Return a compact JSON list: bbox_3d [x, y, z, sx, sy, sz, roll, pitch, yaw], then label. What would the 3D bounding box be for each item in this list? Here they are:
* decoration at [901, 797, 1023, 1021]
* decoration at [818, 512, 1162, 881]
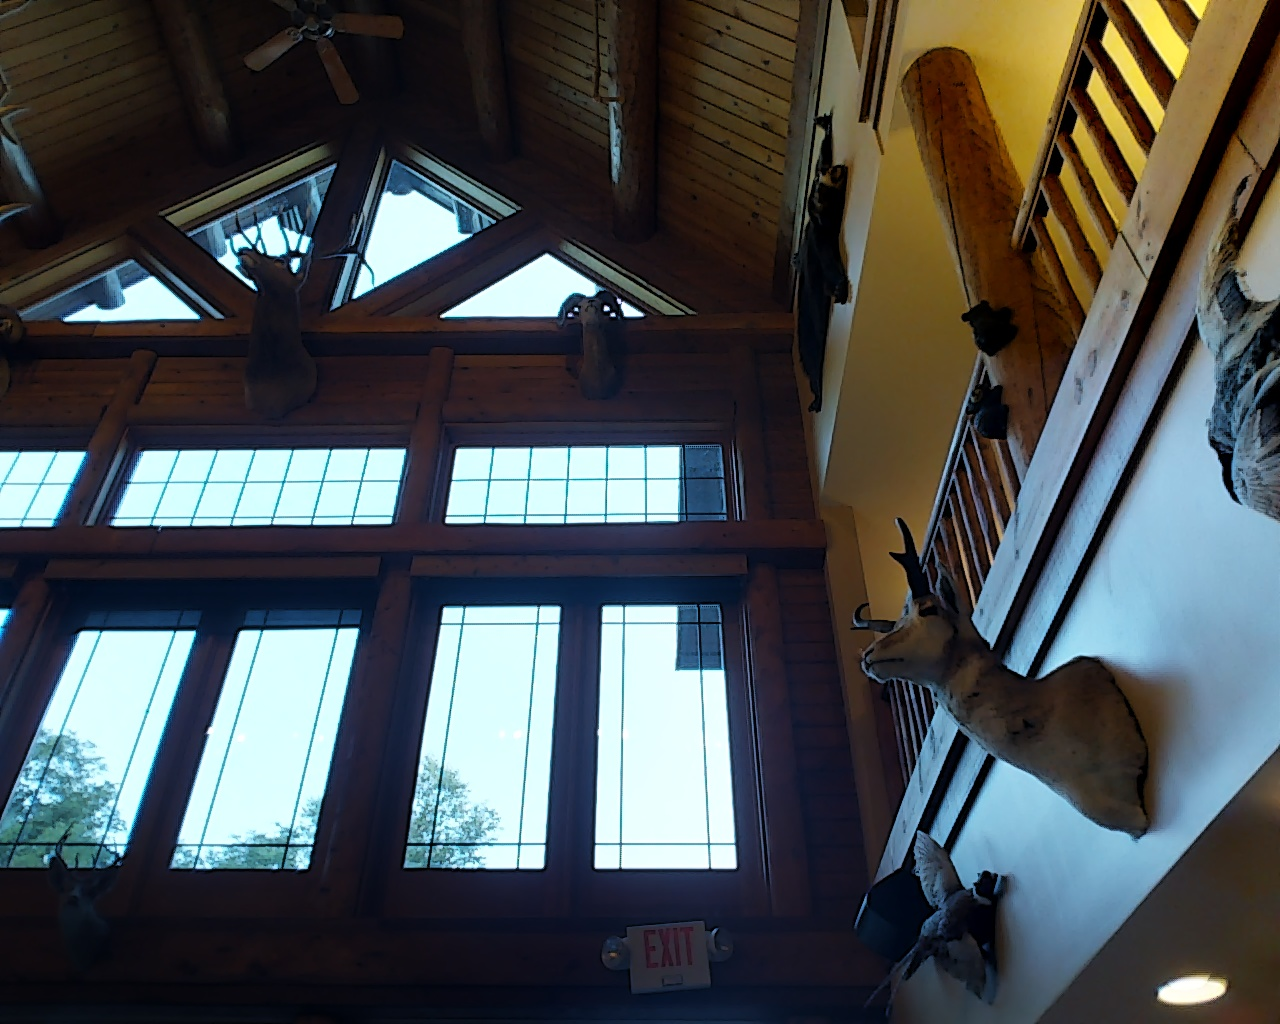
[{"bbox_3d":[0.970,1.221,3.300,0.170,0.510,0.470,0,-42,0],"label":"decoration"},{"bbox_3d":[0.760,0.420,2.530,0.550,0.740,0.430,0,-42,1],"label":"decoration"}]
